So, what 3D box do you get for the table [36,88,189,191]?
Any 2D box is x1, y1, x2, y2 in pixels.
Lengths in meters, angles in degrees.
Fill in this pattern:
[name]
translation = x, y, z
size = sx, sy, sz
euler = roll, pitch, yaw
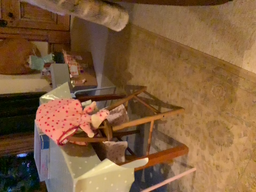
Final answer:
[table]
translation = -0.240, 0.480, 1.670
size = 1.010, 0.740, 0.730
euler = 39, 125, 50
